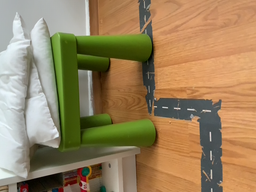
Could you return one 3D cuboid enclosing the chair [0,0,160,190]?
[{"bbox_3d":[-0.290,-0.010,0.600,0.390,0.660,0.370,-1,90,53],"label":"chair"}]
